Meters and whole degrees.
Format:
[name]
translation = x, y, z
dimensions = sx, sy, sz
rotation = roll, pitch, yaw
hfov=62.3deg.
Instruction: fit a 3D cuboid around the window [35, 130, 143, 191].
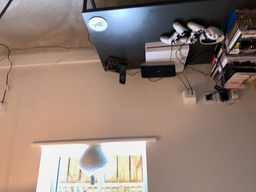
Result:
[window]
translation = -0.280, 0.970, 1.480
dimensions = 0.790, 1.430, 0.130
rotation = -2, 156, 3
